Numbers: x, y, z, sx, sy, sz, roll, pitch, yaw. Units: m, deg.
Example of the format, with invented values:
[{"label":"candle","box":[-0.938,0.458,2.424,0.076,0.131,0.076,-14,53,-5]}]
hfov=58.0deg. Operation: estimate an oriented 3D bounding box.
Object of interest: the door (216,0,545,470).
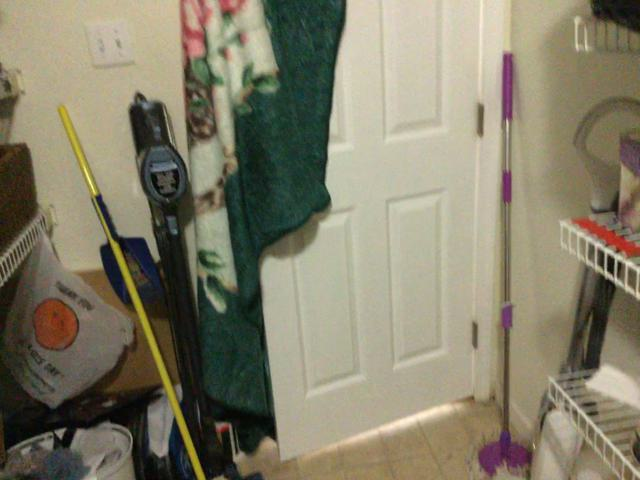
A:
[{"label":"door","box":[0.180,-0.310,1.650,0.850,2.120,0.160,-7,21,-7]}]
